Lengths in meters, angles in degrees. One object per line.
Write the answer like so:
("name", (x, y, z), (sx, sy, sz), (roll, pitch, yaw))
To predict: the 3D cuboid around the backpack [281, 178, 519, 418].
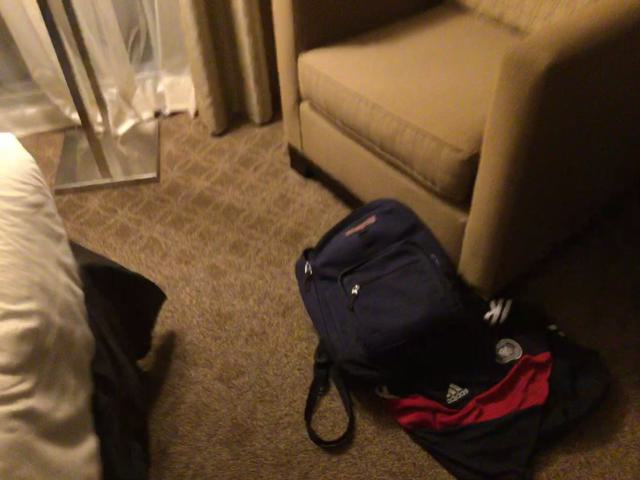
("backpack", (0.150, 0.110, 1.310), (0.380, 0.230, 0.430), (-12, 43, -9))
